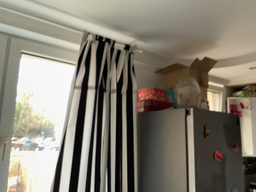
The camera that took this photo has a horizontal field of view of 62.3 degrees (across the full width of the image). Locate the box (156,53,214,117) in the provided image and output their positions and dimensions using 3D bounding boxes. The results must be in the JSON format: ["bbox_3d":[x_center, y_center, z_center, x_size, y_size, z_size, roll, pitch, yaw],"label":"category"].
[{"bbox_3d":[0.520,-0.070,1.970,0.340,0.490,0.390,9,-12,-38],"label":"box"}]
